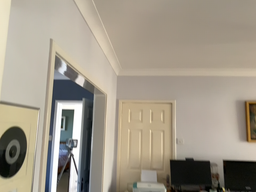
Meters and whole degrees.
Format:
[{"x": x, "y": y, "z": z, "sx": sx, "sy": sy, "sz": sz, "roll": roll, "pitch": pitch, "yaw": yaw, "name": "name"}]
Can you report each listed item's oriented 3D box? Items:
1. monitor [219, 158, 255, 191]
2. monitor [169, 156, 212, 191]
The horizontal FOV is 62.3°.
[{"x": 1.510, "y": 1.040, "z": 2.740, "sx": 0.580, "sy": 0.440, "sz": 0.030, "roll": 0, "pitch": -18, "yaw": 7, "name": "monitor"}, {"x": 0.820, "y": 1.030, "z": 2.810, "sx": 0.540, "sy": 0.420, "sz": 0.030, "roll": 2, "pitch": -17, "yaw": 1, "name": "monitor"}]
